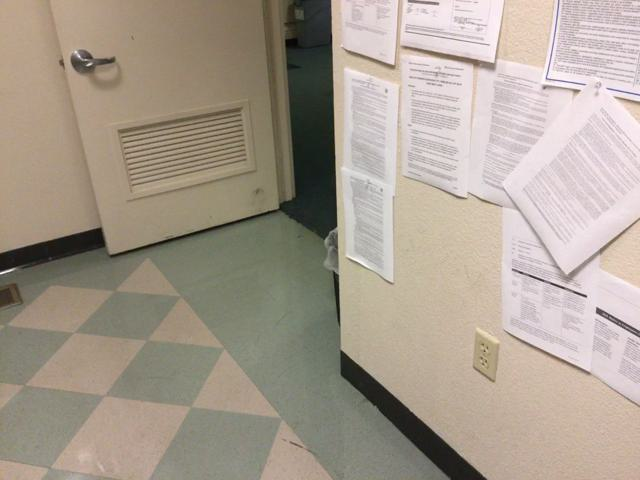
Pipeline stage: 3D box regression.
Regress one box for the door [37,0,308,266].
[{"bbox_3d":[-0.640,-1.160,2.410,1.040,2.490,0.230,-16,30,-23],"label":"door"}]
